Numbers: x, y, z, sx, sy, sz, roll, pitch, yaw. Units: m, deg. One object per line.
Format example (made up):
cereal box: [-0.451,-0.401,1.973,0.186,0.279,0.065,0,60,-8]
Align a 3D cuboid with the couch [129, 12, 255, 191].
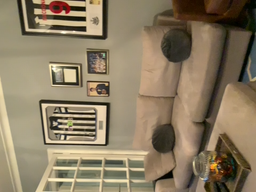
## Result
couch: [0.510,0.160,2.430,0.980,0.790,1.980,-95,9,-64]

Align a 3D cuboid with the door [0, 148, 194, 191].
door: [-0.340,1.040,2.850,0.880,2.270,0.100,-97,11,-68]
